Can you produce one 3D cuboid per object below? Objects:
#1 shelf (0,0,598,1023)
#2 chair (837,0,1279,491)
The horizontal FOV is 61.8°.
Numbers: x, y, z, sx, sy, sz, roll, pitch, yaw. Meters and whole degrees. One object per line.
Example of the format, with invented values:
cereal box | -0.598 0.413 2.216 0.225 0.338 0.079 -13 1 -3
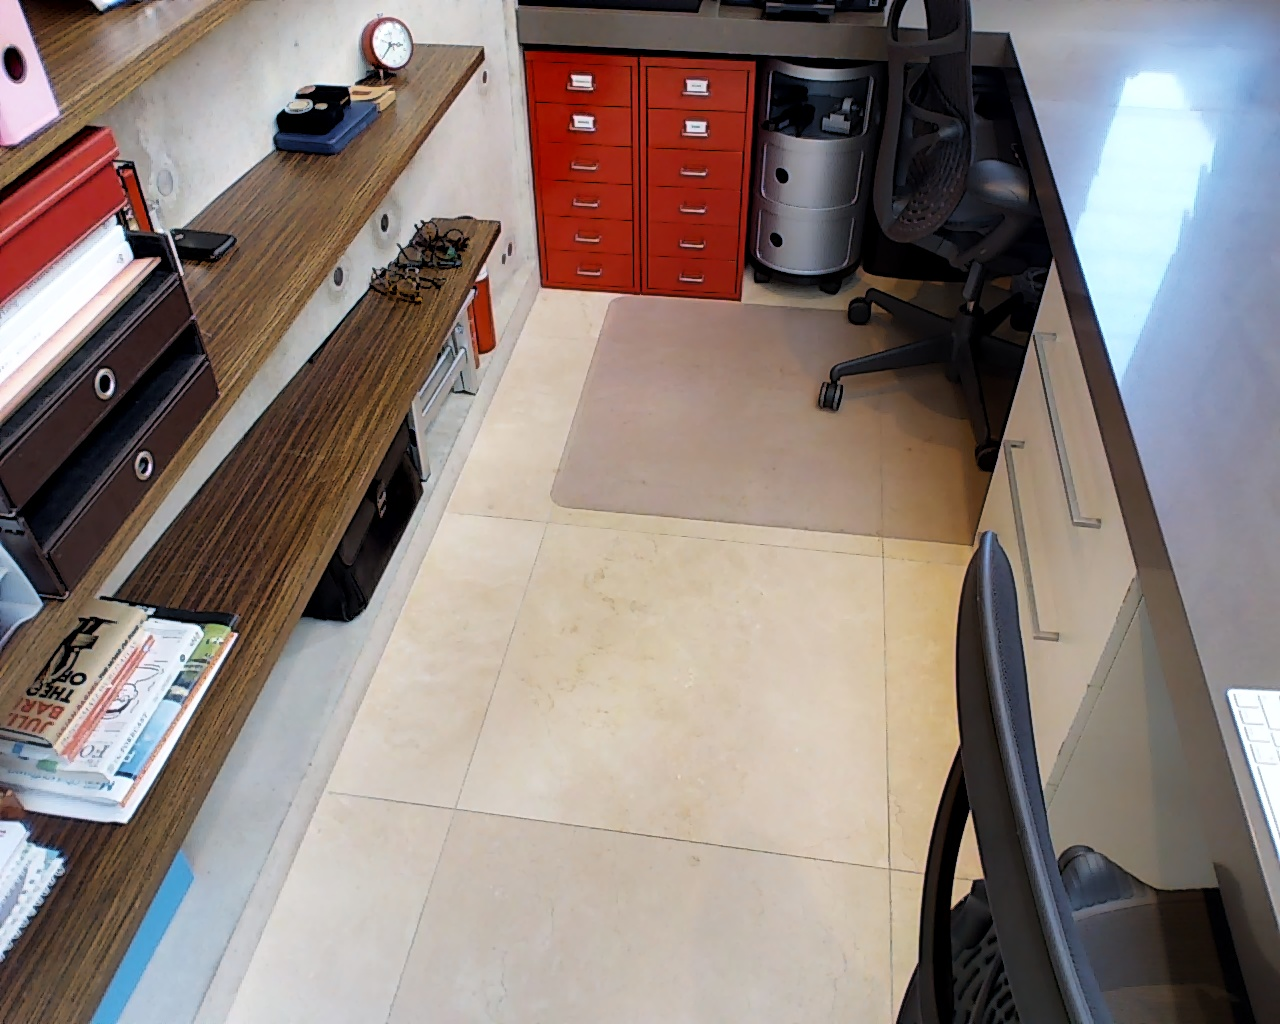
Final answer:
shelf | -0.540 -0.580 1.170 0.420 2.440 2.550 5 42 7
chair | 0.830 -0.710 2.320 0.670 1.060 0.720 5 42 7
